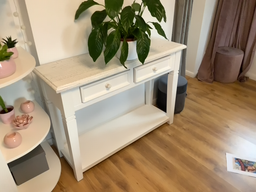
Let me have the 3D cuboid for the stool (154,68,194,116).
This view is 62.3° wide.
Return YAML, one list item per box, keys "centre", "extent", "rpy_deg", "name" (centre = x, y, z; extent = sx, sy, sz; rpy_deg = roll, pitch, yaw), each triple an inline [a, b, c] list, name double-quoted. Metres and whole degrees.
- centre: [0.530, -0.060, 2.490]
  extent: [0.310, 0.400, 0.300]
  rpy_deg: [-24, 39, -33]
  name: "stool"
